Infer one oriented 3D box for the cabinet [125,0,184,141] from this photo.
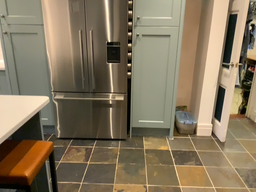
[{"bbox_3d":[0.280,-0.650,2.670,0.590,2.380,0.630,1,19,0],"label":"cabinet"}]
